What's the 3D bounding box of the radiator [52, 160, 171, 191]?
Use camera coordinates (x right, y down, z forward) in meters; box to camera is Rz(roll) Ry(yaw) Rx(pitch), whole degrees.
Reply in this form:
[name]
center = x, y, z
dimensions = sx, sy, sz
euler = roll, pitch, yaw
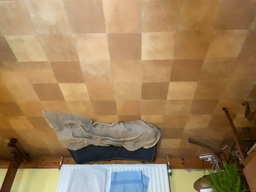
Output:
[radiator]
center = -0.200, 1.170, 2.620
dimensions = 1.450, 0.740, 0.090
euler = 0, 139, 1
